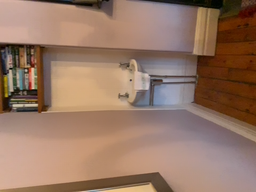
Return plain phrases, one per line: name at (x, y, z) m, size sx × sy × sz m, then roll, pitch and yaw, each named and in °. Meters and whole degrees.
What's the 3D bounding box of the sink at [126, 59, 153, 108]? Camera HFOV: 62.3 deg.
sink at (0.110, -0.140, 2.190) m, size 0.260 × 0.180 × 0.470 m, roll -150°, pitch 61°, yaw -72°
